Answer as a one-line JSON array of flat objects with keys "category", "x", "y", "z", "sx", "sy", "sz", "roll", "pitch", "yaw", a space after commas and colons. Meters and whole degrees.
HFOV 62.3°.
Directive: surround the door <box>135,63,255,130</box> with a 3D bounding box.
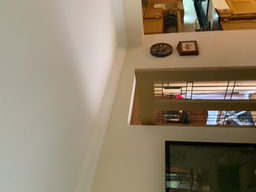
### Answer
[{"category": "door", "x": 1.080, "y": 0.040, "z": 1.710, "sx": 0.040, "sy": 2.000, "sz": 0.710, "roll": -80, "pitch": -13, "yaw": -46}]
